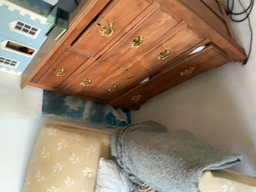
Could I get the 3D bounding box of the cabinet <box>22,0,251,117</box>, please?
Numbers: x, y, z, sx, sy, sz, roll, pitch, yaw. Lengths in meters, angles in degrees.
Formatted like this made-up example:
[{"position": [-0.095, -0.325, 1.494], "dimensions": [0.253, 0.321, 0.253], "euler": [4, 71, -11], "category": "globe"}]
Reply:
[{"position": [0.000, -0.360, 1.450], "dimensions": [1.070, 0.980, 0.560], "euler": [-30, 56, 41], "category": "cabinet"}]
